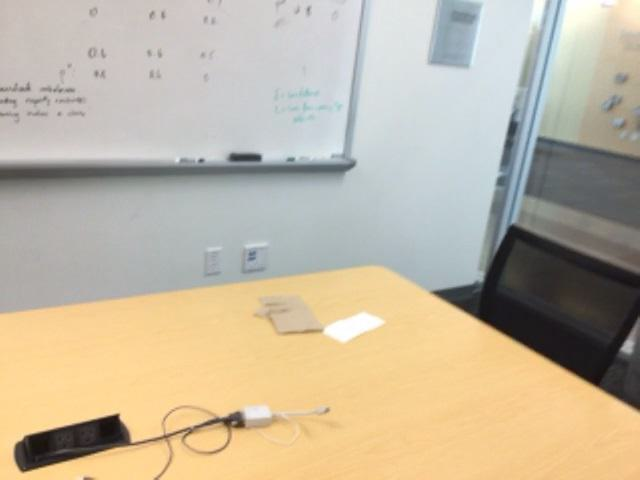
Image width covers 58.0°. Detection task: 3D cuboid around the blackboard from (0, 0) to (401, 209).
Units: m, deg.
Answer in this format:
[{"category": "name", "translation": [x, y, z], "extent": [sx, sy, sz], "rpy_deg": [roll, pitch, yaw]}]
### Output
[{"category": "blackboard", "translation": [-0.750, -0.750, 1.810], "extent": [2.420, 1.270, 0.190], "rpy_deg": [-6, 22, -33]}]

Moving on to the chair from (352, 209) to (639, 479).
[{"category": "chair", "translation": [0.510, 0.340, 1.620], "extent": [0.500, 0.680, 0.610], "rpy_deg": [-6, 22, -33]}]
